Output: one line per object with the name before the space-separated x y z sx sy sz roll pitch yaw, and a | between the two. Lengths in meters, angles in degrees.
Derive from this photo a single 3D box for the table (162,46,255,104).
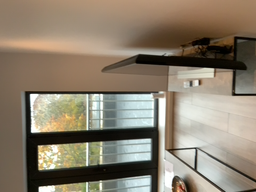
table | 0.750 -0.180 2.020 1.010 0.440 0.400 -165 76 -74

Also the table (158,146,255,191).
table | 0.730 0.950 2.150 1.060 0.440 0.540 -161 72 -74
